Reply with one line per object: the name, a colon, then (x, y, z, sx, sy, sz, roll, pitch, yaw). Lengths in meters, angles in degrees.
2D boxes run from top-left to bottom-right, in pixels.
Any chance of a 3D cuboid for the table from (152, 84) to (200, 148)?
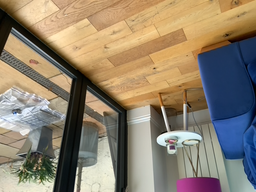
table: (0.470, 0.210, 2.090, 0.370, 0.480, 0.370, -8, 148, 13)
